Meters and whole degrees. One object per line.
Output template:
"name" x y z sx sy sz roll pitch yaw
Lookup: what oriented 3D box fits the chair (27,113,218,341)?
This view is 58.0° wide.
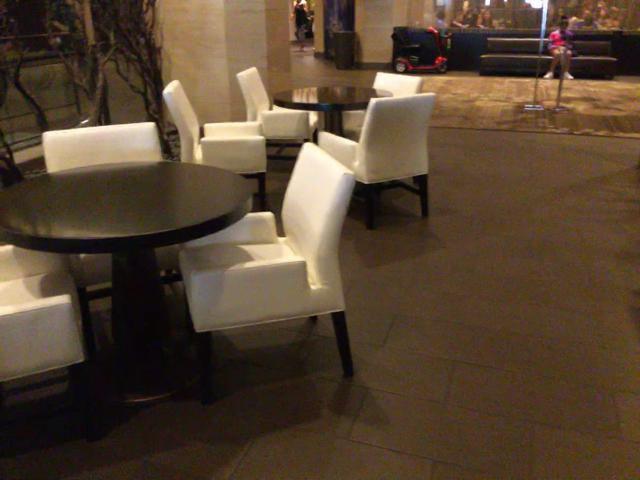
"chair" -0.890 -0.110 2.600 0.610 0.770 0.660 -12 24 -26

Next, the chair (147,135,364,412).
"chair" -0.260 0.080 2.290 0.690 0.830 0.670 -5 22 -12

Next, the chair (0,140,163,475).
"chair" -1.100 0.200 1.950 0.880 0.870 0.700 -11 24 -25
